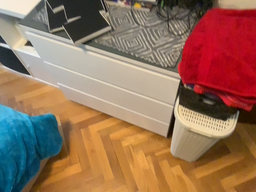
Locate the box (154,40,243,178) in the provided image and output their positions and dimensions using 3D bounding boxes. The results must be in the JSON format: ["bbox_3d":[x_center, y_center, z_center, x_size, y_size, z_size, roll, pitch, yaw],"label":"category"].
[{"bbox_3d":[0.420,0.110,1.350,0.270,0.600,0.620,19,62,13],"label":"box"}]
